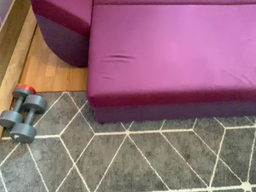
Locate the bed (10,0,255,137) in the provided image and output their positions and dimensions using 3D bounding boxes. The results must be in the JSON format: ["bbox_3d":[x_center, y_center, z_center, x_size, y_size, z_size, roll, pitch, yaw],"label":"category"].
[{"bbox_3d":[0.790,-0.540,1.580,2.700,0.410,1.490,-2,54,-4],"label":"bed"}]
